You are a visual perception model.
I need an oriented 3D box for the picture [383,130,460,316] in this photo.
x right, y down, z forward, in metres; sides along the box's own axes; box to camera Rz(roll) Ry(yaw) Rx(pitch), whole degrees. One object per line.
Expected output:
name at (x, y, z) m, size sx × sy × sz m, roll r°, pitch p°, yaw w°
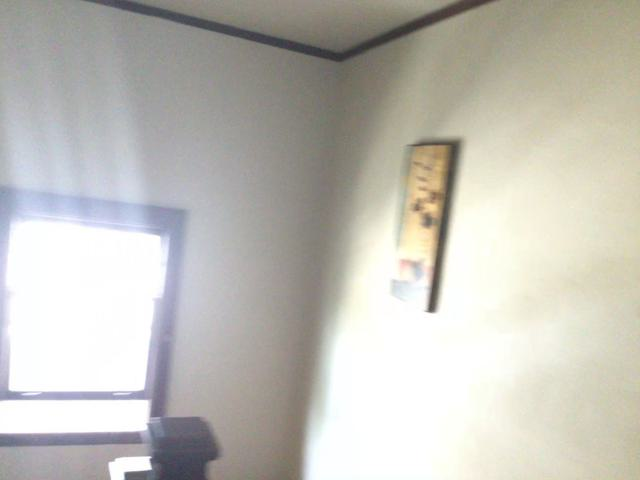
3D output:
picture at (0.480, -0.080, 2.820) m, size 0.090 × 0.830 × 0.490 m, roll 3°, pitch 1°, yaw -20°
